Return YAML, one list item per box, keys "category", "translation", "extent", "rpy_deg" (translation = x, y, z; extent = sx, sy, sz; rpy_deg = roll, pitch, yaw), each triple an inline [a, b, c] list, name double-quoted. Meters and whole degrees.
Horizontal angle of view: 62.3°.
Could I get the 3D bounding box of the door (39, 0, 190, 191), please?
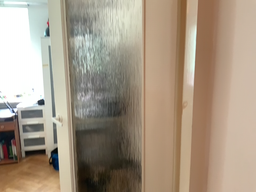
- category: "door"
  translation: [-0.130, 0.310, 1.040]
  extent: [0.800, 2.080, 0.090]
  rpy_deg: [8, 13, 39]
